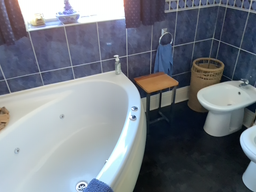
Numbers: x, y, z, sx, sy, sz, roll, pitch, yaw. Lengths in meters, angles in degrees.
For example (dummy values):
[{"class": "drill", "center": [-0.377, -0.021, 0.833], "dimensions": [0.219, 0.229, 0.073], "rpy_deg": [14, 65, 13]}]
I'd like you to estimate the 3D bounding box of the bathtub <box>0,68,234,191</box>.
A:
[{"class": "bathtub", "center": [-0.410, 0.470, 1.380], "dimensions": [1.340, 0.560, 1.370], "rpy_deg": [-14, 35, -18]}]
